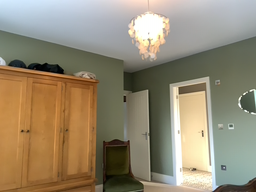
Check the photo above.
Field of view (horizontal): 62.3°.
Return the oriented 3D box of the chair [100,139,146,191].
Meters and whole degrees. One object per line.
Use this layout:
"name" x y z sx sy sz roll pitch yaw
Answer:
"chair" -0.120 1.200 3.500 0.600 0.900 0.750 2 -8 -14
